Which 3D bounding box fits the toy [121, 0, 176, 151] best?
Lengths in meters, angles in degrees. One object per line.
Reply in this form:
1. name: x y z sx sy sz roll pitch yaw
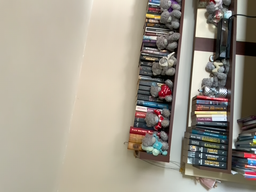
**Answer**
1. toy: 0.170 -0.370 1.390 0.250 0.210 1.400 77 -159 -75
